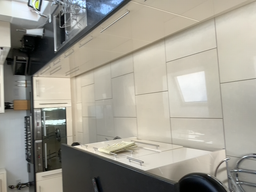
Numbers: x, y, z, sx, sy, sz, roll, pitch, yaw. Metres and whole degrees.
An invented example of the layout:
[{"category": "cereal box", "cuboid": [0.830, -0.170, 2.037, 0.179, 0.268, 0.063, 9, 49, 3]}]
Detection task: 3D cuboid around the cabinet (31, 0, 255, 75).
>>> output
[{"category": "cabinet", "cuboid": [-0.390, -0.840, 2.680, 3.760, 0.850, 0.640, -5, 87, 55]}]
